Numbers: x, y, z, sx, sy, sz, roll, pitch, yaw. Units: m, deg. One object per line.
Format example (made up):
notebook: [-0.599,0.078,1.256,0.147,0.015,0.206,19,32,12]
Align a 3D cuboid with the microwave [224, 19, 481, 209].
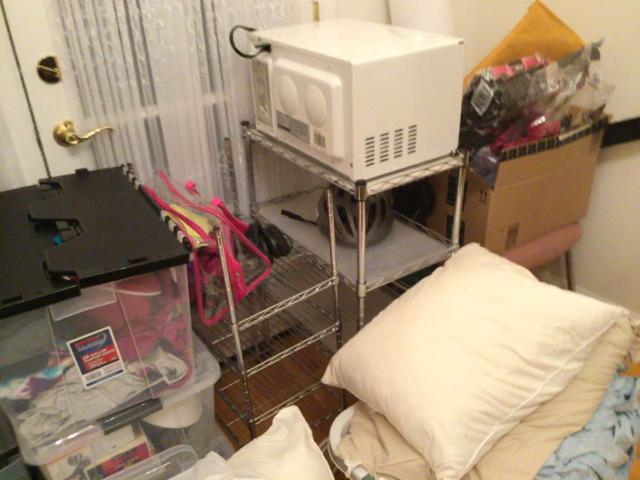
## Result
microwave: [0.070,-0.350,1.450,0.360,0.340,0.530,-21,28,-31]

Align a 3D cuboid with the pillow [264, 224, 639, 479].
pillow: [0.290,0.210,1.280,0.610,0.180,0.550,-21,28,-31]

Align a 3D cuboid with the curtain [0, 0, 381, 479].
curtain: [-0.570,-0.040,1.460,1.670,1.320,0.210,-21,28,-31]

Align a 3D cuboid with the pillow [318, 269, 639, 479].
pillow: [0.360,0.330,1.300,0.610,0.230,0.370,-22,28,-31]
